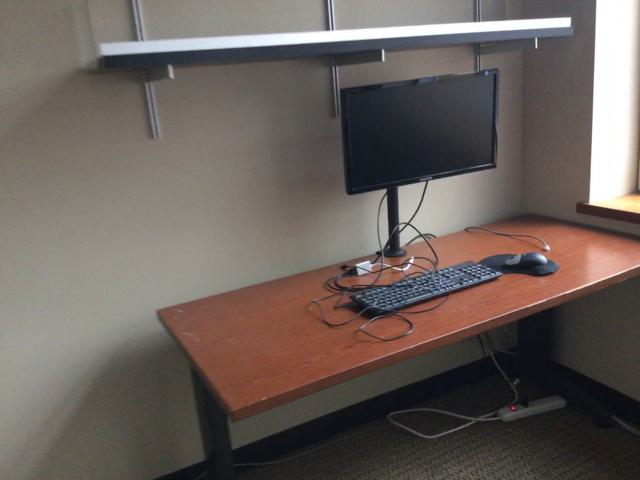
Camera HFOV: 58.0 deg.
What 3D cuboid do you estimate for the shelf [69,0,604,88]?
[{"bbox_3d":[0.110,-0.930,1.630,1.530,0.920,0.440,-8,10,-28],"label":"shelf"}]

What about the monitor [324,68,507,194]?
[{"bbox_3d":[0.310,-0.340,1.800,0.550,0.340,0.190,-8,10,-28],"label":"monitor"}]

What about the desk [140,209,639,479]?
[{"bbox_3d":[0.330,0.430,1.850,1.510,0.870,0.840,-8,10,-28],"label":"desk"}]
